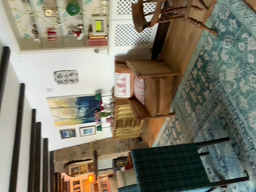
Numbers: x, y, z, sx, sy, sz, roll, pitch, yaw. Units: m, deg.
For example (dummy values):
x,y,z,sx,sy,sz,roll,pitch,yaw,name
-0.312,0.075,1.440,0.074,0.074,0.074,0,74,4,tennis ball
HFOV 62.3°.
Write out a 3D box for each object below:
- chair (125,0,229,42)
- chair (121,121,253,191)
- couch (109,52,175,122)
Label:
x,y,z,sx,sy,sz,roll,pitch,yaw,name
0.430,-0.970,2.020,0.600,0.750,0.630,101,160,-53,chair
0.480,0.660,2.040,0.600,0.960,0.520,104,158,-55,chair
0.170,-0.200,3.470,0.970,0.770,0.780,-120,27,-62,couch
